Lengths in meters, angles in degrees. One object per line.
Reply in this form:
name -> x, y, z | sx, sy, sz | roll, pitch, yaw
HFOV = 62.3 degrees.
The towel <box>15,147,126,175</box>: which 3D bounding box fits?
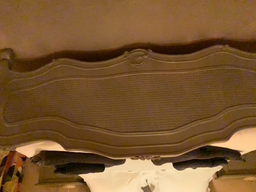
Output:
towel -> -0.350, 0.430, 1.340 | 0.590, 0.090, 0.330 | 16, 149, -33
